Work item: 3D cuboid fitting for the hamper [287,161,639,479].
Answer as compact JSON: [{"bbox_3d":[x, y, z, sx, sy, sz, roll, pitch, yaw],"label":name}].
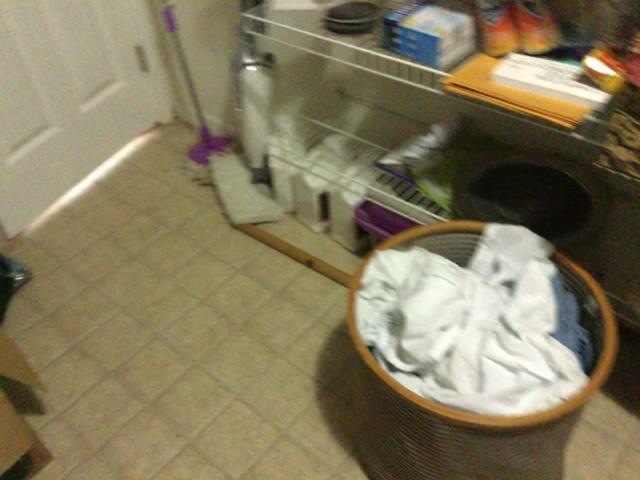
[{"bbox_3d":[0.300,0.250,1.140,0.490,0.510,0.480,28,51,31],"label":"hamper"}]
